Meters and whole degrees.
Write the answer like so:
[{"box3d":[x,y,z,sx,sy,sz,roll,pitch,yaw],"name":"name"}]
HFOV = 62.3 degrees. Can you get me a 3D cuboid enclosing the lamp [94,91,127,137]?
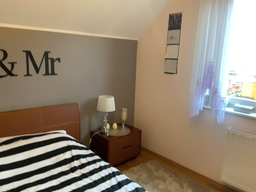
[{"box3d":[-0.250,0.230,2.910,0.320,0.530,0.300,-6,14,-38],"name":"lamp"}]
